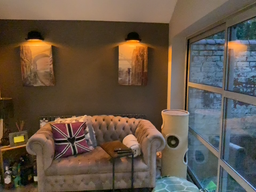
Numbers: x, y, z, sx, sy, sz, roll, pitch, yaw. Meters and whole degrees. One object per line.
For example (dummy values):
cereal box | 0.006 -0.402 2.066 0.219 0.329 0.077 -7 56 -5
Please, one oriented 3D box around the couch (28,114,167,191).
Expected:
couch | -0.370 0.780 2.880 1.560 0.880 0.870 0 8 -7
